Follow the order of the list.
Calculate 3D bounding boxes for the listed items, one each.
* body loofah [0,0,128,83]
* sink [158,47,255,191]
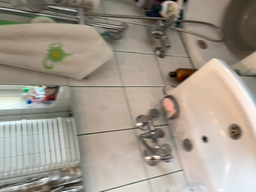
[{"bbox_3d":[-0.360,-0.210,0.810,0.180,0.680,0.270,-34,63,54],"label":"body loofah"},{"bbox_3d":[0.390,0.140,0.860,0.370,0.210,0.530,-45,54,50],"label":"sink"}]
